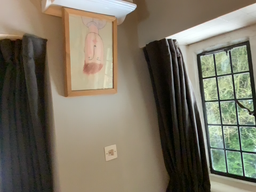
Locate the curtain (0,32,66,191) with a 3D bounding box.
[{"bbox_3d":[-0.530,0.280,1.110,0.300,1.170,0.170,-6,180,-42],"label":"curtain"}]
